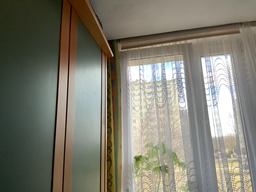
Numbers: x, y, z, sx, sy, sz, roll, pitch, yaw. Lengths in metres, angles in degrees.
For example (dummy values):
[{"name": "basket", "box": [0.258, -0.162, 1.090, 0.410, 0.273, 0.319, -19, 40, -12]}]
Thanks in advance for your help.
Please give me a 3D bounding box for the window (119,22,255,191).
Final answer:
[{"name": "window", "box": [0.530, 0.210, 1.680, 1.140, 1.550, 0.170, -4, -13, 6]}]
